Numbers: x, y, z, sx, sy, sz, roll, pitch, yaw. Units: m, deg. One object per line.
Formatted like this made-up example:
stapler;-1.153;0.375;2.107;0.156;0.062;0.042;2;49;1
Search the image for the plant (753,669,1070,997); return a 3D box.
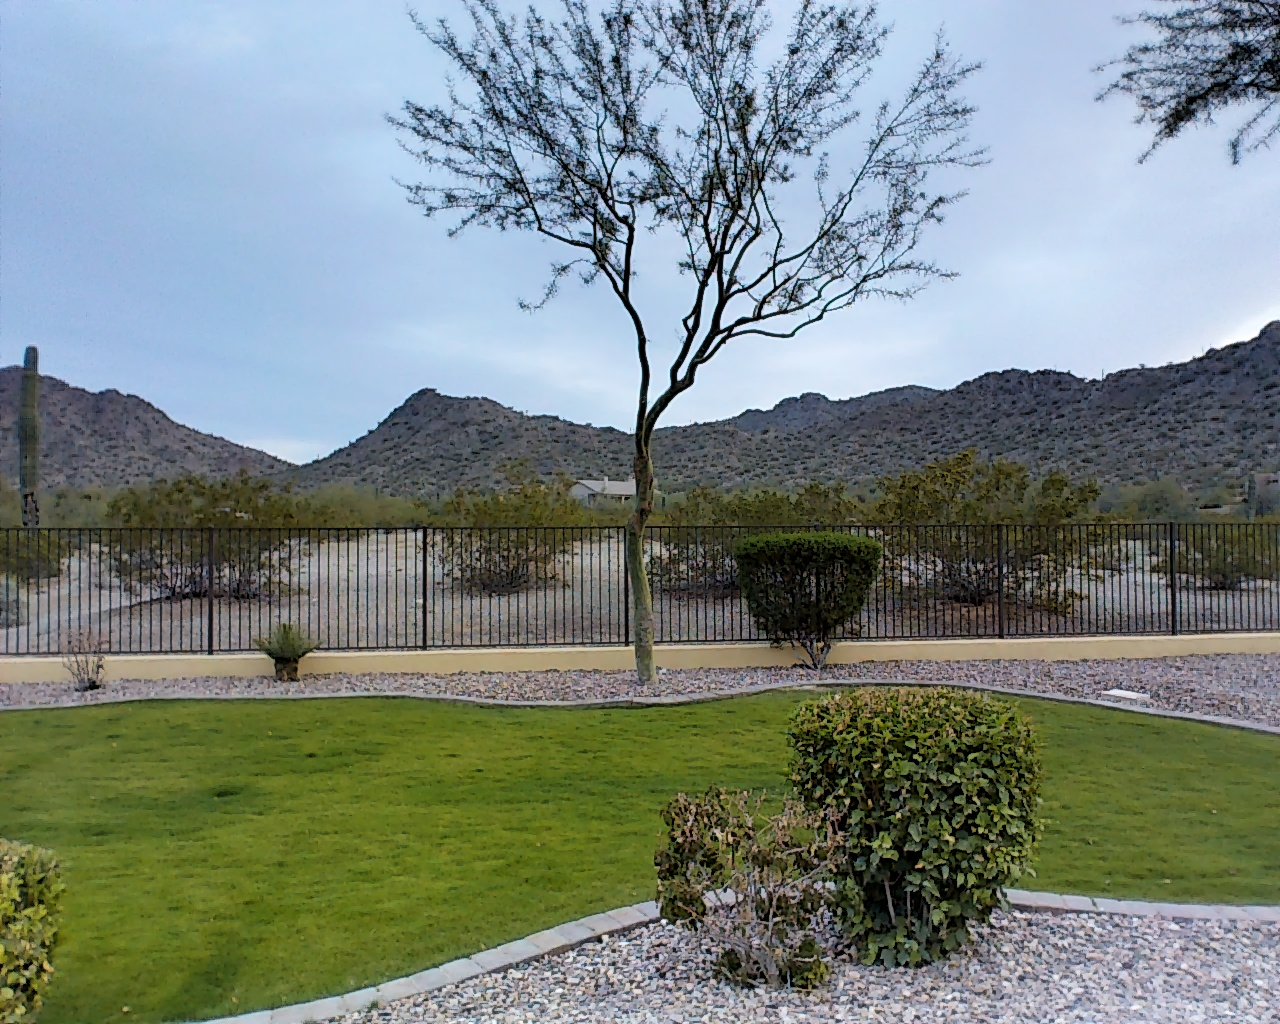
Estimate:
plant;1.240;1.340;4.810;1.250;1.070;1.020;0;-1;19
